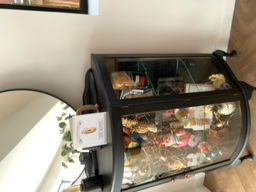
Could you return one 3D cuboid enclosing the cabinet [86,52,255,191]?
[{"bbox_3d":[0.350,0.230,1.440,0.460,1.160,0.970,-146,56,-59],"label":"cabinet"}]
